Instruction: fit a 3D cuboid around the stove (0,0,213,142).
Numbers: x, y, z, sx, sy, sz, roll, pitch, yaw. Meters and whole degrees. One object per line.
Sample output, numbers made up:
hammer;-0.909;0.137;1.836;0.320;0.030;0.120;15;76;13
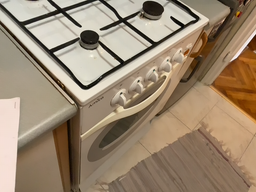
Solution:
stove;-0.120;-0.240;0.660;0.550;0.150;0.510;43;56;17
